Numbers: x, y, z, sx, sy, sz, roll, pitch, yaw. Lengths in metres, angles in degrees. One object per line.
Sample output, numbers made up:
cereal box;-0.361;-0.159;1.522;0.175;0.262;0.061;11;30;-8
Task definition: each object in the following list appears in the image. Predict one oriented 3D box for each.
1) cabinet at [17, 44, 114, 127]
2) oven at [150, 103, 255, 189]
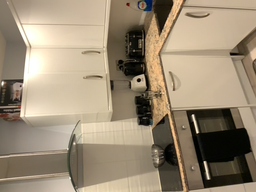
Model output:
cabinet;-0.590;-0.110;2.140;0.380;0.810;0.720;111;155;-64
oven;0.760;0.480;1.970;0.640;0.900;0.610;111;155;-64
